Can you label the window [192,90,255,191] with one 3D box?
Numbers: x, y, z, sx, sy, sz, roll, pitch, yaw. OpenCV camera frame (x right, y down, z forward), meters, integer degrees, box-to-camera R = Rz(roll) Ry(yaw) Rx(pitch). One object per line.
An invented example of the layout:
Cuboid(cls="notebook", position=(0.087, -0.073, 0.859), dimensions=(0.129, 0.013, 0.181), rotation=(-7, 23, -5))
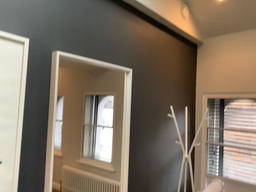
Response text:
Cuboid(cls="window", position=(1.140, 0.560, 2.410), dimensions=(0.840, 1.240, 0.040), rotation=(0, -3, 45))
